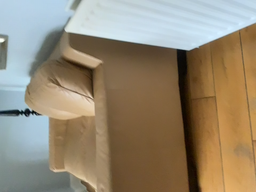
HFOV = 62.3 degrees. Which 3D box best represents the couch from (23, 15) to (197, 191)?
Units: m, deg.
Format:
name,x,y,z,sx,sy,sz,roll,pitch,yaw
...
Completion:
name,x,y,z,sx,sy,sz,roll,pitch,yaw
couch,-0.360,0.230,1.770,1.570,0.820,0.990,-13,78,59
